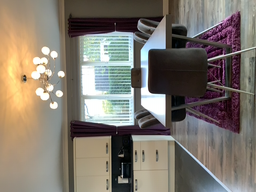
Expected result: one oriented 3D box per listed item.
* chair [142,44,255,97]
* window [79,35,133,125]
[{"bbox_3d":[0.620,-0.230,2.070,0.530,0.910,0.440,-135,44,-85],"label":"chair"},{"bbox_3d":[-0.500,-0.370,4.970,0.070,1.210,2.060,-139,49,-85],"label":"window"}]
